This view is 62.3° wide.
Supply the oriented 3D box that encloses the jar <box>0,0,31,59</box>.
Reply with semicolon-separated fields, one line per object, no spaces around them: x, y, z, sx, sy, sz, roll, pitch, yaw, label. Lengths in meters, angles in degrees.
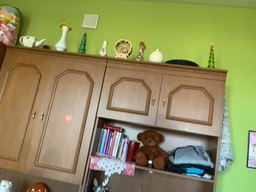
-1.270;-0.690;2.120;0.310;0.520;0.310;8;-12;10;jar
